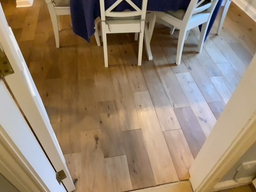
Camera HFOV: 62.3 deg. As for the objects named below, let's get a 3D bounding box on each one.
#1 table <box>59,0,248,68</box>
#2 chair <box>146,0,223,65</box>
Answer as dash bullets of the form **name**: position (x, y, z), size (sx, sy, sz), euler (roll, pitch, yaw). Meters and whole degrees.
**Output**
- **table**: position (0.150, -1.010, 2.190), size (1.530, 0.710, 1.130), euler (-7, 49, -8)
- **chair**: position (0.510, -0.810, 1.930), size (0.410, 0.860, 0.460), euler (-30, 56, -26)
